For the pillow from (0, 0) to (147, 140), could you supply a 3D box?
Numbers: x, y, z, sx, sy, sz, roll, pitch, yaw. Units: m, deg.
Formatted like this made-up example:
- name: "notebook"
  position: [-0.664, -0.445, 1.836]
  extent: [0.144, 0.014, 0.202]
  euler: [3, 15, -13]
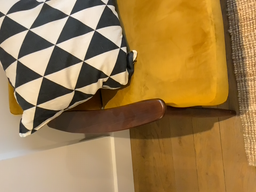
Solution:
- name: "pillow"
  position: [-0.280, -0.210, 0.890]
  extent: [0.340, 0.550, 0.670]
  euler: [111, 152, -69]
